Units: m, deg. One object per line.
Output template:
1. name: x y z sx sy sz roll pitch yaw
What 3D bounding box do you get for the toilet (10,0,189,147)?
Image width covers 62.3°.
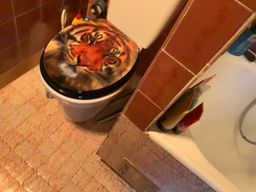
1. toilet: -0.110 -0.240 1.030 0.370 0.780 0.660 38 54 6

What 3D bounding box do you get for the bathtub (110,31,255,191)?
1. bathtub: 0.680 0.430 1.010 1.310 0.580 0.660 39 54 7
